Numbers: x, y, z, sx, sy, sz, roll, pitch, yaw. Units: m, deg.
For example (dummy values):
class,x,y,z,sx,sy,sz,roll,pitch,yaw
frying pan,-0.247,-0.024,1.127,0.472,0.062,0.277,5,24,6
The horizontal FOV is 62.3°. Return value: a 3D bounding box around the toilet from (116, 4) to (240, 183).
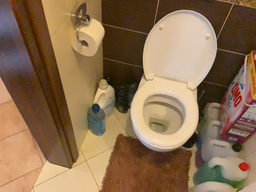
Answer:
class,x,y,z,sx,sy,sz,roll,pitch,yaw
toilet,0.210,0.040,1.180,0.380,0.810,0.530,15,51,5
